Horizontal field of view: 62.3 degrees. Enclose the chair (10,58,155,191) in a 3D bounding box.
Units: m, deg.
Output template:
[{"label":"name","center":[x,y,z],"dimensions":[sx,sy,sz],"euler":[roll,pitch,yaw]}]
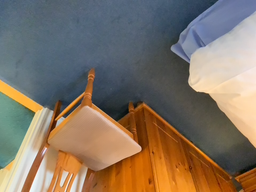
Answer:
[{"label":"chair","center":[-0.250,0.310,1.290],"dimensions":[0.580,0.910,0.460],"euler":[-37,121,22]}]
